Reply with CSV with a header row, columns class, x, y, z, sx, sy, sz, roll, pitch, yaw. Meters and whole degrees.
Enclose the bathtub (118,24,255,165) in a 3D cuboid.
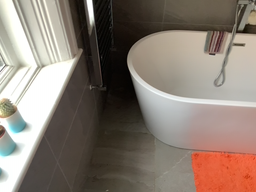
class,x,y,z,sx,sy,sz,roll,pitch,yaw
bathtub,0.830,-0.020,1.610,1.700,0.580,0.850,5,46,3
